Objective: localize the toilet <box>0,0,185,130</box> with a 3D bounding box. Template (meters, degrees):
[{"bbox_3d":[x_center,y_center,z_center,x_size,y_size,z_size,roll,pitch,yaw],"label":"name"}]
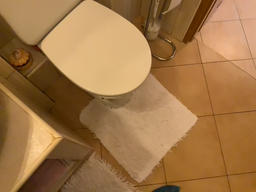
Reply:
[{"bbox_3d":[-0.220,-0.270,0.940,0.680,0.800,0.390,38,75,9],"label":"toilet"}]

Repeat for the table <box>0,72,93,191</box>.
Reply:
[{"bbox_3d":[-0.470,0.230,0.790,0.360,0.780,0.470,38,75,9],"label":"table"}]
